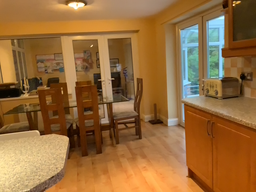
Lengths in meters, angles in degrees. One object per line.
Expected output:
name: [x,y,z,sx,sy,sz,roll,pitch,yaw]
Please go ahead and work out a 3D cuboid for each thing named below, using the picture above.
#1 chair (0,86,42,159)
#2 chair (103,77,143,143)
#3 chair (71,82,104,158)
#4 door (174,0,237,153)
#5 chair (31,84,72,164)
chair: [-1.770,0.400,3.390,0.560,1.030,0.380,-7,10,-15]
chair: [-0.090,0.220,3.760,0.560,1.030,0.430,-6,10,-13]
chair: [-0.630,0.330,3.300,0.360,1.030,0.560,-6,10,-11]
door: [1.160,-0.340,3.470,0.090,1.980,1.670,-6,10,-10]
chair: [-1.110,0.380,3.200,0.390,1.030,0.560,-6,10,-11]
